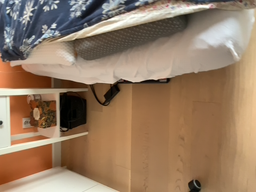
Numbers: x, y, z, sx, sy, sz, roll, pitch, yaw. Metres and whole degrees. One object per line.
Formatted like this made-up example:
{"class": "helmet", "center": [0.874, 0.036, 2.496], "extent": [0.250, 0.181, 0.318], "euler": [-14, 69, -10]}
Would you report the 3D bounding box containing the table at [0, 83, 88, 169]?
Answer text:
{"class": "table", "center": [-0.680, 0.150, 1.540], "extent": [0.390, 0.670, 0.470], "euler": [5, 96, 39]}
